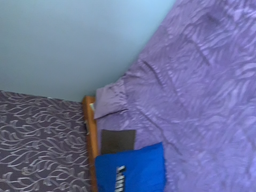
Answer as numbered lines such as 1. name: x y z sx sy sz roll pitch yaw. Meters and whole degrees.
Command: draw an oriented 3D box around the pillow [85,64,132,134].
1. pillow: -0.240 0.030 2.260 0.500 0.210 0.520 -56 38 32
